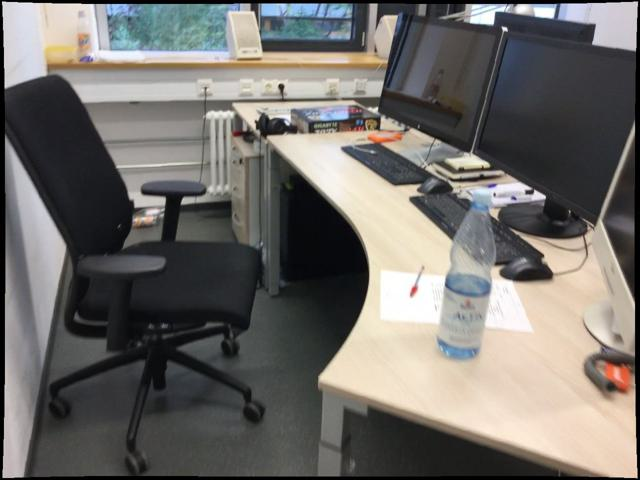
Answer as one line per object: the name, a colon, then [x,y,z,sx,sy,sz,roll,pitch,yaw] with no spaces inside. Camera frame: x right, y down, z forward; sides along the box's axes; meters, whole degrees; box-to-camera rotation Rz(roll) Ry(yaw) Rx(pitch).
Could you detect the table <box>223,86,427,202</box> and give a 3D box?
table: [-0.030,-0.531,2.920,0.749,0.310,0.900,-6,27,-18]
